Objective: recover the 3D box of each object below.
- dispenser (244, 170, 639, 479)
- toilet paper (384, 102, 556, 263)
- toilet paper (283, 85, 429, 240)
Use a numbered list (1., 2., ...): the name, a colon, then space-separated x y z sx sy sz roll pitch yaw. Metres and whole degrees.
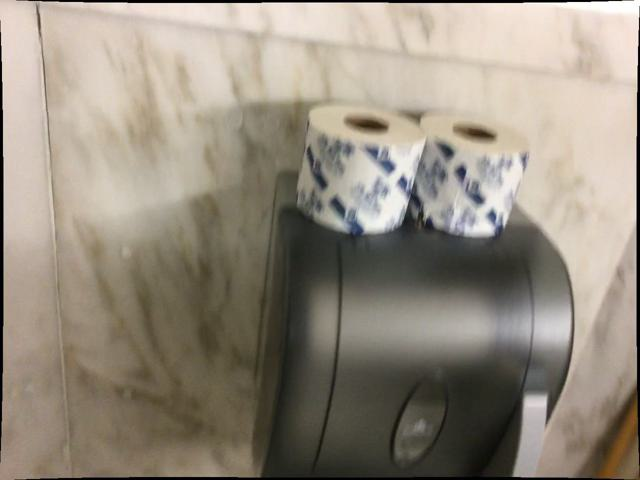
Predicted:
1. dispenser: 0.090 0.140 0.680 0.330 0.350 0.260 3 26 -10
2. toilet paper: 0.160 -0.070 0.660 0.120 0.130 0.150 3 26 -10
3. toilet paper: 0.030 -0.090 0.640 0.120 0.120 0.150 3 26 -10
